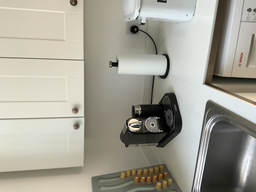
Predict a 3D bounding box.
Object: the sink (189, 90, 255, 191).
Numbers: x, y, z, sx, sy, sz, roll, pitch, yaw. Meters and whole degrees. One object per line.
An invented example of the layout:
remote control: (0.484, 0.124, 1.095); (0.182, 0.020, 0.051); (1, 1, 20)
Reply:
sink: (0.440, 0.300, 0.730); (0.440, 0.200, 0.540); (-128, 40, -68)
